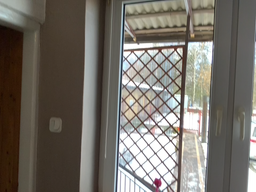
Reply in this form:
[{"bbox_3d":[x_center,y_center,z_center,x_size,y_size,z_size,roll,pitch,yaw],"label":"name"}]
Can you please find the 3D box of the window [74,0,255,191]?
[{"bbox_3d":[0.530,0.050,0.950,1.580,1.490,0.240,4,2,18],"label":"window"}]
